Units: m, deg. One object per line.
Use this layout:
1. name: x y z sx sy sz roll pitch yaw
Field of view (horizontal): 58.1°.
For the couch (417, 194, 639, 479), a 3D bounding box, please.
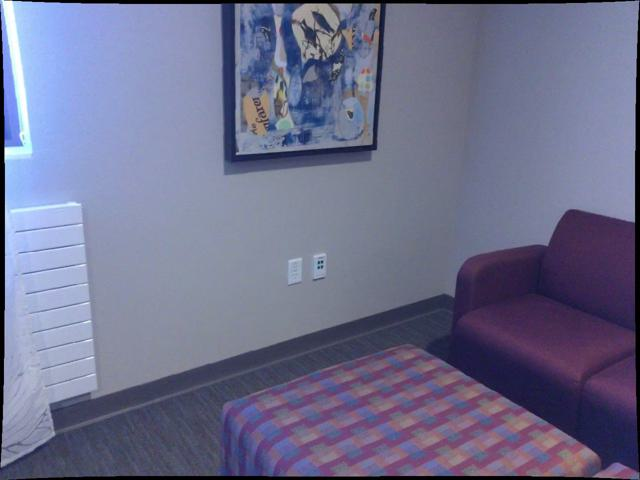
1. couch: 1.288 0.501 1.900 0.749 0.791 1.889 -12 24 -33
